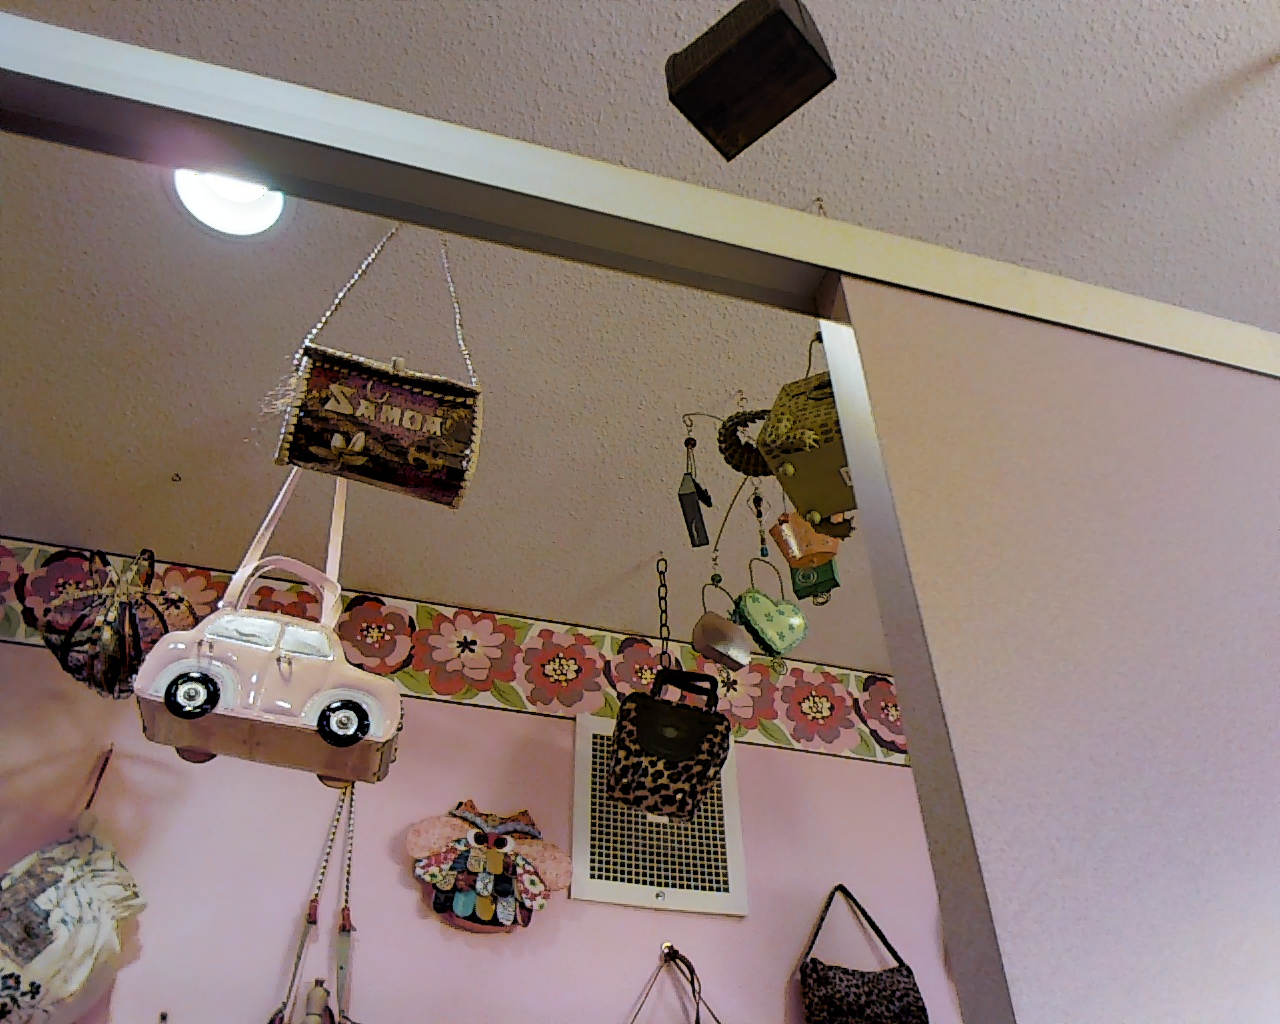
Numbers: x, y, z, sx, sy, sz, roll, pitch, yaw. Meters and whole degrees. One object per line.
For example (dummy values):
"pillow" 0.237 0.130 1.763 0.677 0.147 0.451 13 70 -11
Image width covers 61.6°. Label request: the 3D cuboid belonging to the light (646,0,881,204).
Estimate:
"light" 0.110 -0.420 1.010 0.170 0.150 0.120 -30 -50 28
